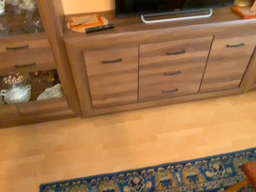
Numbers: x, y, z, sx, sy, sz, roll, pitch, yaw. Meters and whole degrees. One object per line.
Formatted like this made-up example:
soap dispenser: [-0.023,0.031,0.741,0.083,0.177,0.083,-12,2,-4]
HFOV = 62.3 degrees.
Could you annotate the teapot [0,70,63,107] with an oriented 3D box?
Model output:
teapot: [-1.000,-0.060,1.960,0.750,0.130,0.260,-9,44,-9]
